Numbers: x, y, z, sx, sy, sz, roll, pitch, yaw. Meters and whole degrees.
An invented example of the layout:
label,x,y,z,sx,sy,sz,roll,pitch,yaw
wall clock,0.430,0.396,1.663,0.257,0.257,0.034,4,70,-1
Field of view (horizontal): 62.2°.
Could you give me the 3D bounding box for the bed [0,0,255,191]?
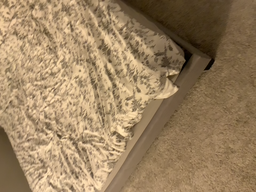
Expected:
label,x,y,z,sx,sy,sz,roll,pitch,yaw
bed,-0.460,-0.100,2.020,2.200,0.570,2.070,46,121,31
